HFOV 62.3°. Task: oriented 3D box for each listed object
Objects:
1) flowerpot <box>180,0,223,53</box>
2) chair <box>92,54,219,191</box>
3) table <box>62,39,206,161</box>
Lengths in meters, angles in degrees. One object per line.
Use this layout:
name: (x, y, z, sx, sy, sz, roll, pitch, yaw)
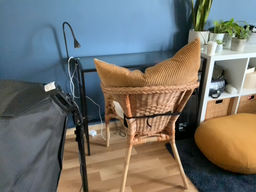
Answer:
flowerpot: (0.640, -0.640, 1.880, 0.240, 0.460, 0.190, -6, 26, -15)
chair: (0.110, 0.190, 1.480, 0.590, 0.790, 0.620, -7, 26, -15)
table: (0.030, -0.010, 1.840, 1.050, 0.840, 0.420, -7, 26, -17)
